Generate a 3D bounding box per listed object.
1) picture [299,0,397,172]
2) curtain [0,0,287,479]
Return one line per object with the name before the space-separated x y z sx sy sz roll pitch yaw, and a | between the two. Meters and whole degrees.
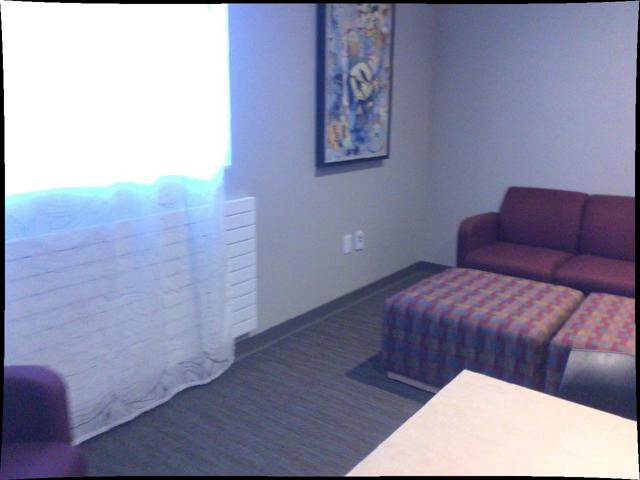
picture | 0.190 -1.012 3.520 0.140 1.092 0.820 11 18 35
curtain | -0.859 -0.441 2.210 0.320 2.614 1.809 11 18 35
